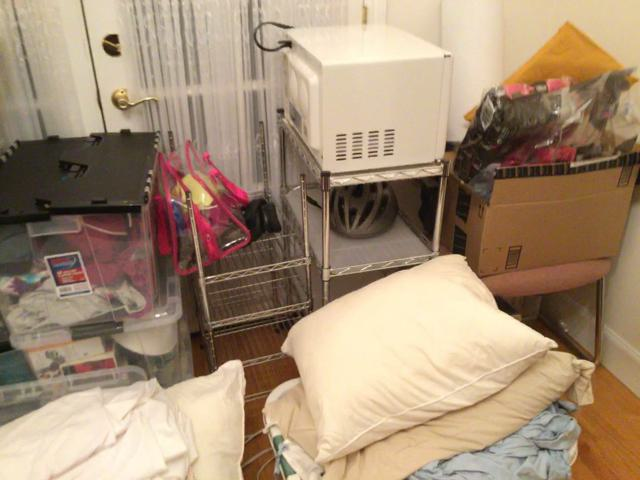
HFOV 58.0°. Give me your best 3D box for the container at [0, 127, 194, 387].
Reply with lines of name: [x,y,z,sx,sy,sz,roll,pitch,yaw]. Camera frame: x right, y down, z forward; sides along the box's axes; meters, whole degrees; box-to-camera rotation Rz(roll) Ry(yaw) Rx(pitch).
container: [-0.600,-0.010,1.510,0.420,0.420,0.600,-9,24,-16]

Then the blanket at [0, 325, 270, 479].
blanket: [-0.440,0.490,1.220,0.590,0.330,0.460,-9,24,-16]

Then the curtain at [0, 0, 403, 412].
curtain: [-0.570,-0.190,1.740,1.670,1.320,0.210,-9,24,-16]

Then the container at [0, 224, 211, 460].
container: [-0.600,0.240,1.650,0.460,0.340,0.570,-9,24,-16]
